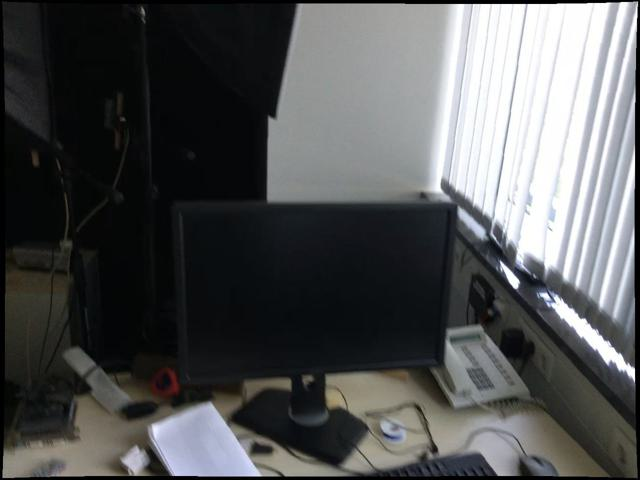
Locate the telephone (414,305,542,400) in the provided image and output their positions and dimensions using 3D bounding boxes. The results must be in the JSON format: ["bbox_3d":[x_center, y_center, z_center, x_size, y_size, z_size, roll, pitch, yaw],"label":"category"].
[{"bbox_3d":[0.390,0.280,1.480,0.240,0.110,0.270,1,21,-2],"label":"telephone"}]
